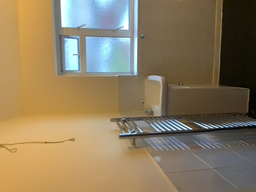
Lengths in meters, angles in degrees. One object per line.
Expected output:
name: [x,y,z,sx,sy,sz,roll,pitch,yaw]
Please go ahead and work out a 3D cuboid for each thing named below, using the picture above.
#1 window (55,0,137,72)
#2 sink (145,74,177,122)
window: [-0.360,-0.720,2.530,0.060,0.940,0.870,-140,49,-76]
sink: [0.330,-0.010,2.220,0.530,0.150,0.430,-146,55,-77]
